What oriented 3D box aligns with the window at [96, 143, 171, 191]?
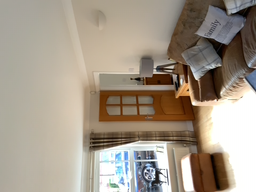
[{"bbox_3d":[0.080,1.610,4.280,0.310,1.410,1.220,99,169,-61],"label":"window"}]
